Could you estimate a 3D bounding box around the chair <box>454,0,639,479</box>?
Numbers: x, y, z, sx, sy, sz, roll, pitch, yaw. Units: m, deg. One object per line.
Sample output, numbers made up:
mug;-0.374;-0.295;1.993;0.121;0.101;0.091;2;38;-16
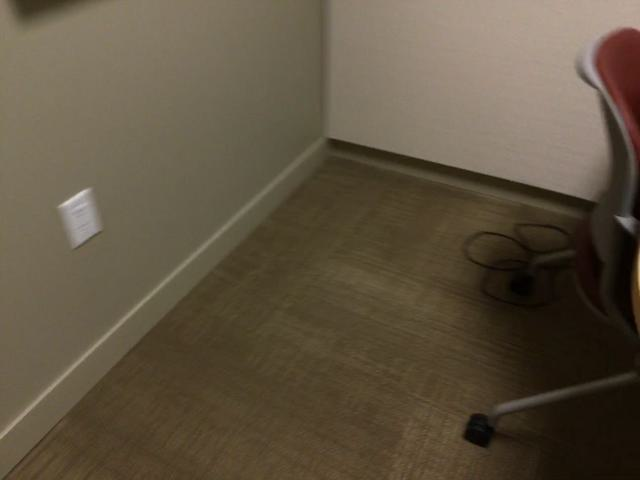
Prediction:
chair;0.710;0.050;1.190;0.570;0.820;0.640;19;42;24
